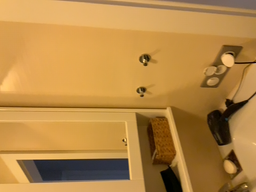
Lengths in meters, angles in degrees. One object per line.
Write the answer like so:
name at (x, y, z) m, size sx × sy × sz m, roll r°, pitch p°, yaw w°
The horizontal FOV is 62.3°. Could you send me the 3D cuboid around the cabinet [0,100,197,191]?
cabinet at (-0.250, 0.390, 0.800) m, size 0.160 × 1.010 × 0.810 m, roll 101°, pitch 168°, yaw -49°
